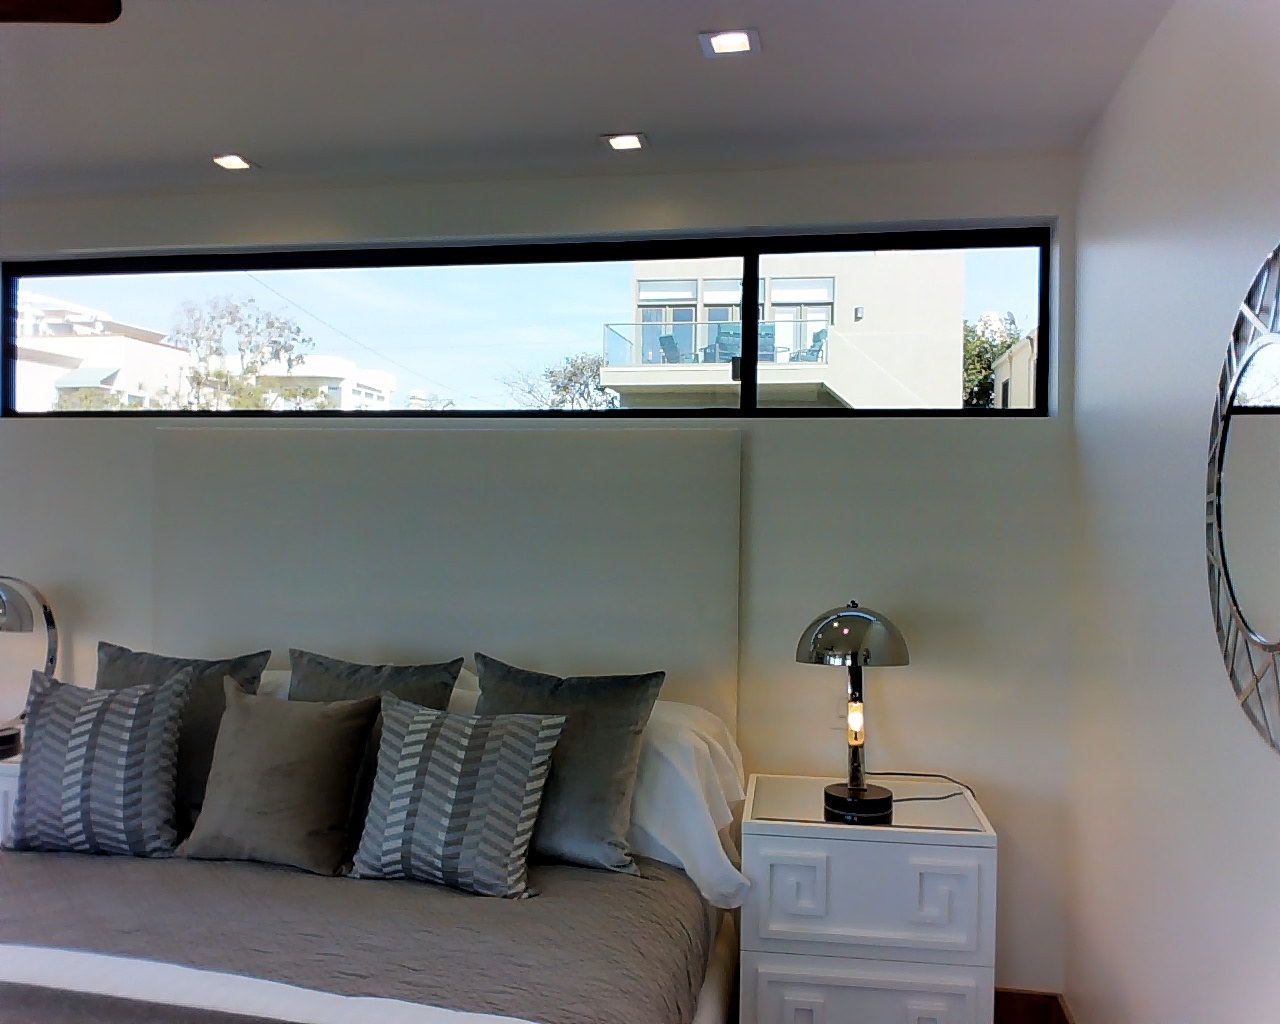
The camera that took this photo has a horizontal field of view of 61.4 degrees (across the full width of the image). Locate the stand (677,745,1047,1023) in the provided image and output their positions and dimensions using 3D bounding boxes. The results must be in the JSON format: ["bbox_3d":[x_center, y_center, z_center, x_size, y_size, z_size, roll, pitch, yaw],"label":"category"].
[{"bbox_3d":[0.570,1.110,2.870,0.850,0.790,0.630,1,1,11],"label":"stand"}]
